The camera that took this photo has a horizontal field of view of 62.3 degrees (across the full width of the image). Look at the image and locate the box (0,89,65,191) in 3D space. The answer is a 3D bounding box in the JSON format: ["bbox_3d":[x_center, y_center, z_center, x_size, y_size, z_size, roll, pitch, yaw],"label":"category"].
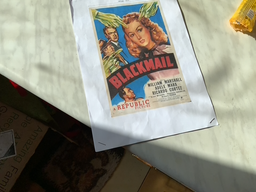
[{"bbox_3d":[-0.540,0.230,0.970,0.280,0.250,0.370,32,72,4],"label":"box"}]
